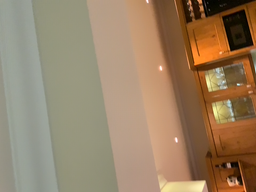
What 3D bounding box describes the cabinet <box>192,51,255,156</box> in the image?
[{"bbox_3d":[1.580,0.140,3.280,0.350,0.820,1.420,4,-106,-65],"label":"cabinet"}]
